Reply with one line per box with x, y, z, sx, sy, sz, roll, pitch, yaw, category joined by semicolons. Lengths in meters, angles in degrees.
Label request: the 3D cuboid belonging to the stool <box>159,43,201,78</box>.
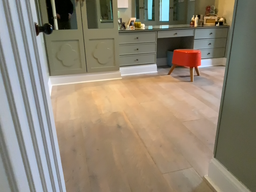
0.830;-0.580;3.380;0.510;0.440;0.410;13;26;31;stool

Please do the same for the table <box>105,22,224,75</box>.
0.670;-0.930;3.920;2.080;0.740;0.540;-8;23;-16;table
